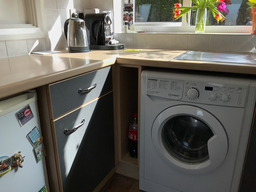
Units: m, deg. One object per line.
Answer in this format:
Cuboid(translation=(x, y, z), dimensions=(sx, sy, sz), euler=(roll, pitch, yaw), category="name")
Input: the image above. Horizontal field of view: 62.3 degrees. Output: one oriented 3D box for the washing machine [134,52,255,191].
Cuboid(translation=(0.460, 0.190, 1.440), dimensions=(0.610, 0.850, 0.680), euler=(9, 21, 24), category="washing machine")
